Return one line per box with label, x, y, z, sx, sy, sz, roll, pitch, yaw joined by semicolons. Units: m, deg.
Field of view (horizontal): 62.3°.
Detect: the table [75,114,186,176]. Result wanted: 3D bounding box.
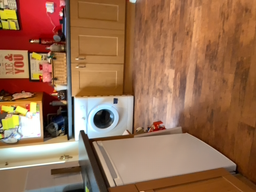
table;0.020;0.400;1.900;0.300;0.930;0.340;-146;56;-66
